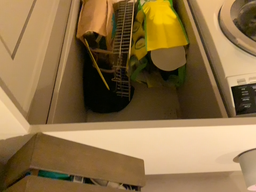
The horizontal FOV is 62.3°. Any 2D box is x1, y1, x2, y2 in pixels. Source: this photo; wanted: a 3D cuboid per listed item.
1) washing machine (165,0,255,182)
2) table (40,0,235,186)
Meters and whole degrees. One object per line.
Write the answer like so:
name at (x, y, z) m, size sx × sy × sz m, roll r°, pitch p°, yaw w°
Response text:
washing machine at (0.630, -0.110, 1.130) m, size 0.640 × 0.890 × 0.670 m, roll -2°, pitch 145°, yaw -2°
table at (0.010, -0.070, 1.140) m, size 0.590 × 0.890 × 0.590 m, roll -2°, pitch 145°, yaw -2°
